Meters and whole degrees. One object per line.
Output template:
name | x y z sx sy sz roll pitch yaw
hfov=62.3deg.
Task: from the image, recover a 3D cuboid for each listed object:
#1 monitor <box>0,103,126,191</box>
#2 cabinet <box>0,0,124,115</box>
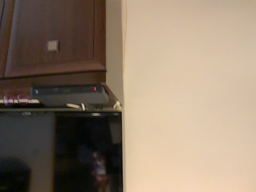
monitor | -0.470 0.320 1.000 0.920 0.570 0.060 2 160 -6
cabinet | -0.510 -0.470 1.200 0.910 1.060 0.450 -3 163 7
